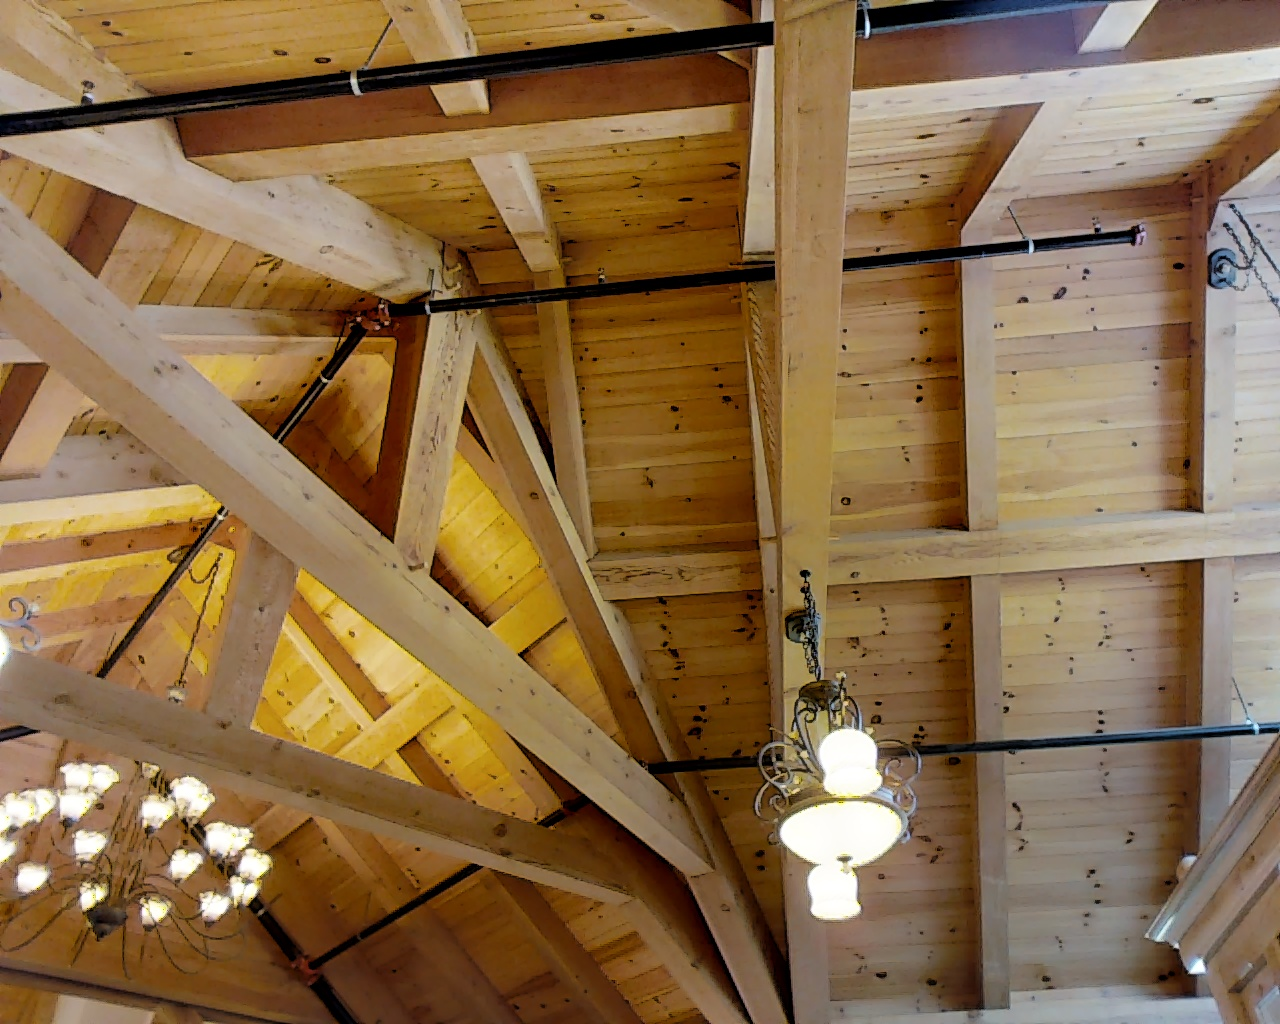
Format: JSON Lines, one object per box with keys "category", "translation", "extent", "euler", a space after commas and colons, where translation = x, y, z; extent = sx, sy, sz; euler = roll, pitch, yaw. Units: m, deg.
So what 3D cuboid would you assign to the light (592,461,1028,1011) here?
{"category": "light", "translation": [0.650, 0.700, 3.620], "extent": [0.930, 0.820, 1.400], "euler": [-39, 13, 35]}
